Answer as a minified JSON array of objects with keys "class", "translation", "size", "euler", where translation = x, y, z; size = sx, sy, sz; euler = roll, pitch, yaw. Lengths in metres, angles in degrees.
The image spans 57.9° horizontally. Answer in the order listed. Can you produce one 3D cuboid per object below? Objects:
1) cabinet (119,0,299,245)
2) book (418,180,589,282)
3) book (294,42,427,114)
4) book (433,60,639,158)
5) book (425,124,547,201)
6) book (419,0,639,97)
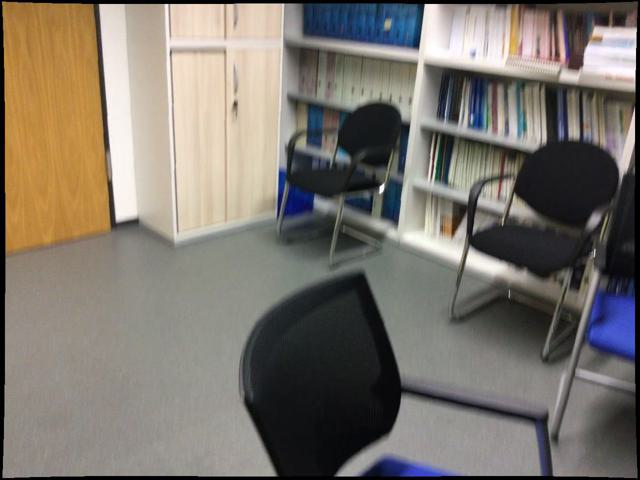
[{"class":"cabinet","translation":[-0.629,-1.211,3.350],"size":[0.850,2.302,0.550],"euler":[-16,29,-41]},{"class":"book","translation":[1.019,-0.080,3.340],"size":[0.260,0.290,0.900],"euler":[-16,29,-41]},{"class":"book","translation":[0.220,-1.061,3.710],"size":[0.100,0.320,1.040],"euler":[-16,29,-41]},{"class":"book","translation":[1.149,-0.731,3.080],"size":[0.270,0.330,1.100],"euler":[-16,29,-41]},{"class":"book","translation":[0.939,-0.460,3.330],"size":[0.240,0.290,0.600],"euler":[-16,29,-41]},{"class":"book","translation":[1.139,-1.031,2.870],"size":[0.420,0.450,1.230],"euler":[-16,29,-41]}]
